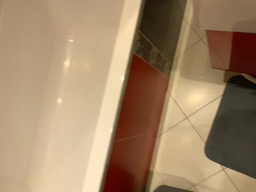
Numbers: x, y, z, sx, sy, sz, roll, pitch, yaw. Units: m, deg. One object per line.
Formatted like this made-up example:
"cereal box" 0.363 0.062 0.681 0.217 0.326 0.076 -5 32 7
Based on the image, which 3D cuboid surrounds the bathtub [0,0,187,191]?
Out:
"bathtub" -0.240 0.090 1.050 0.670 0.570 1.470 13 90 23
